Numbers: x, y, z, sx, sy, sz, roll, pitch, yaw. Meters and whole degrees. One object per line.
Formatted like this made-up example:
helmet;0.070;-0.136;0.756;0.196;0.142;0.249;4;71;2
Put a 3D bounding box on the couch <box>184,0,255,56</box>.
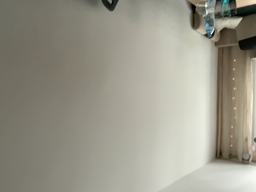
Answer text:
couch;1.820;-1.030;2.430;2.030;0.820;1.010;3;-177;43
